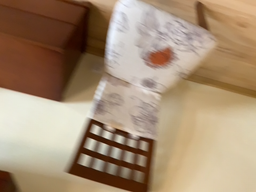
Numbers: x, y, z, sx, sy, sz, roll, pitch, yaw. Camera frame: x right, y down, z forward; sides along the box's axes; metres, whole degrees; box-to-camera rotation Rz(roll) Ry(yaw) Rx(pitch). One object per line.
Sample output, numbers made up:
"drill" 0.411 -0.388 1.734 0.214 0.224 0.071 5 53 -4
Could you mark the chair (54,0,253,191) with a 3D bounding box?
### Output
"chair" 0.070 -0.130 1.050 0.450 0.950 0.580 22 136 -14
